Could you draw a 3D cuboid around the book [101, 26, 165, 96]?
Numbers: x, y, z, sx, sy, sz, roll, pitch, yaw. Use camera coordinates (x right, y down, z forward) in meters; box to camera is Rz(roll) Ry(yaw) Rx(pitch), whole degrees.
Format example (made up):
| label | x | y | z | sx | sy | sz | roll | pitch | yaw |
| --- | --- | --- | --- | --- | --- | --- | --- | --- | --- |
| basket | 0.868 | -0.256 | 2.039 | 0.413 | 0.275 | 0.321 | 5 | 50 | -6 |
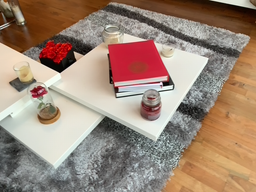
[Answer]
| label | x | y | z | sx | sy | sz | roll | pitch | yaw |
| --- | --- | --- | --- | --- | --- | --- | --- | --- | --- |
| book | 0.010 | -0.210 | 1.170 | 0.280 | 0.150 | 0.400 | -7 | 45 | -5 |
